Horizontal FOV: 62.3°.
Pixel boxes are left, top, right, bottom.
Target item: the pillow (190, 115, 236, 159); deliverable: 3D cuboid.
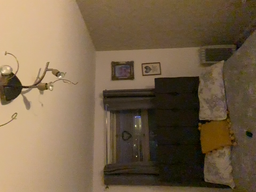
[{"bbox_3d":[0.930,0.450,2.340,0.320,0.350,0.140,33,168,10],"label":"pillow"}]
